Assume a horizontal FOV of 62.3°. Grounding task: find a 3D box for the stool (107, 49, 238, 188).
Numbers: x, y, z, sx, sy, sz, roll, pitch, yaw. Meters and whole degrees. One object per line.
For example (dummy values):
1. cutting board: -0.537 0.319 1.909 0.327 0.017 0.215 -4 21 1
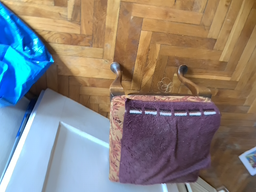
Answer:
1. stool: 0.110 0.080 0.900 0.370 0.420 0.390 2 124 -8
